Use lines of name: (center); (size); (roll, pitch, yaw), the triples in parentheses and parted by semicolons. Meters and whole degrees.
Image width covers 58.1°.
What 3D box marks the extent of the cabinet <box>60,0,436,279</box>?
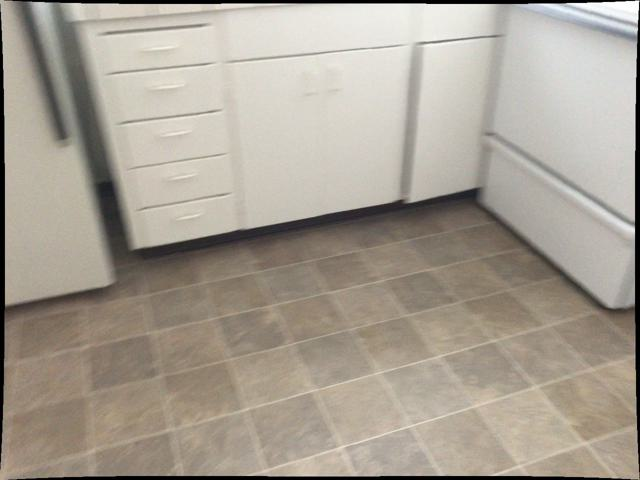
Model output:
cabinet: (-0.200, -0.431, 2.040); (1.138, 0.931, 0.260); (-13, 38, -18)

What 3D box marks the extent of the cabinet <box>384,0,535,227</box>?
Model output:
cabinet: (0.509, -0.501, 2.190); (0.469, 0.921, 0.090); (-13, 38, -18)
